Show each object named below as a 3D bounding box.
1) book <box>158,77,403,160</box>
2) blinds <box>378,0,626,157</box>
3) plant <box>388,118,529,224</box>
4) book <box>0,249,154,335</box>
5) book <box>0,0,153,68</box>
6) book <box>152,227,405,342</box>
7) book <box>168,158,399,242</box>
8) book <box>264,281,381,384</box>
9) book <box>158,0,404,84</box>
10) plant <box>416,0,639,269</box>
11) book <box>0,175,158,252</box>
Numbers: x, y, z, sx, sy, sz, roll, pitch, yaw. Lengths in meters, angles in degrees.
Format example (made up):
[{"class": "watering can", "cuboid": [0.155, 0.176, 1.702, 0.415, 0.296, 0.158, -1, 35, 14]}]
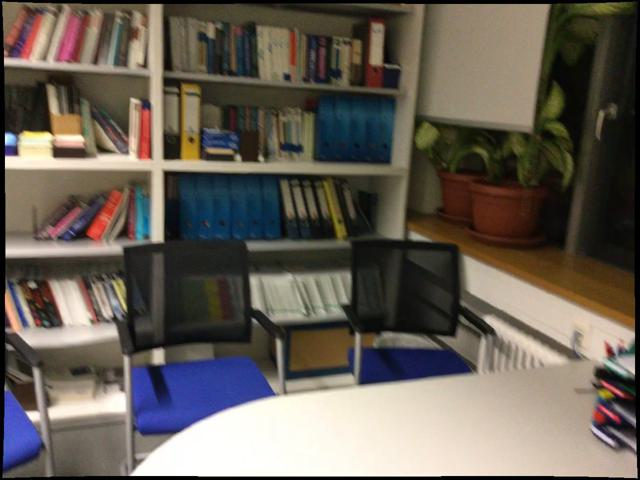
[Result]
[{"class": "book", "cuboid": [-0.190, -0.581, 2.780, 1.099, 0.340, 0.370, -3, 16, -20]}, {"class": "blinds", "cuboid": [0.769, -1.191, 2.610, 0.460, 1.481, 1.140, -3, 16, -20]}, {"class": "plant", "cuboid": [0.679, -0.380, 2.990, 0.370, 0.440, 0.660, -3, 16, -20]}, {"class": "book", "cuboid": [-1.189, 0.230, 2.670, 0.779, 0.260, 0.310, -3, 16, -20]}, {"class": "book", "cuboid": [-1.289, -0.881, 2.370, 1.139, 0.280, 0.250, -3, 16, -20]}, {"class": "book", "cuboid": [-0.220, 0.190, 2.940, 1.179, 0.360, 0.470, -3, 16, -20]}, {"class": "book", "cuboid": [-0.180, -0.220, 2.900, 1.089, 0.330, 0.340, -3, 16, -20]}, {"class": "book", "cuboid": [0.000, 0.470, 3.060, 0.490, 0.350, 0.410, -3, 16, -20]}, {"class": "book", "cuboid": [-0.180, -0.951, 2.730, 1.099, 0.360, 0.320, -3, 16, -20]}, {"class": "plant", "cuboid": [0.899, -0.581, 2.450, 0.470, 1.131, 0.970, -3, 16, -20]}, {"class": "book", "cuboid": [-1.119, -0.130, 2.550, 0.739, 0.250, 0.360, -3, 16, -20]}]
